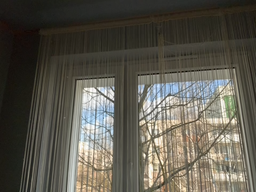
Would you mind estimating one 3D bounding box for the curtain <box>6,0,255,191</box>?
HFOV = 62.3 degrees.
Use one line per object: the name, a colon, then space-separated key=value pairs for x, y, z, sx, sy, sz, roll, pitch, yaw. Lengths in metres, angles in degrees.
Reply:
curtain: x=0.100 y=0.210 z=1.280 sx=1.600 sy=1.860 sz=0.170 roll=-2 pitch=-17 yaw=9
